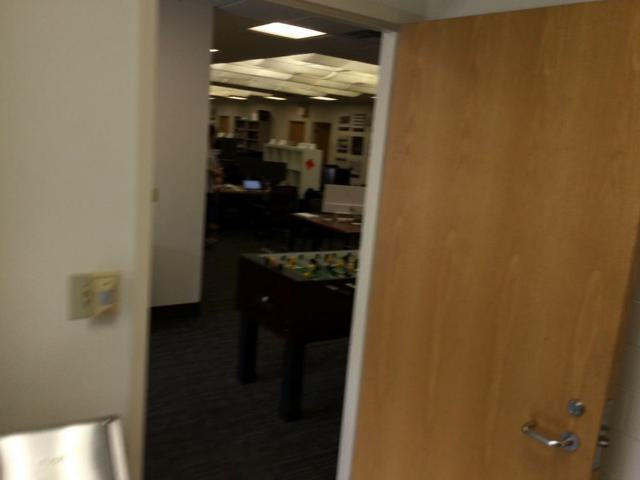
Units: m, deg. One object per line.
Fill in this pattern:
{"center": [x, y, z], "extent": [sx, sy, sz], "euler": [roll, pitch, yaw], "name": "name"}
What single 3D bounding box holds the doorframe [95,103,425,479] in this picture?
{"center": [-0.230, 0.420, 2.040], "extent": [0.970, 1.650, 0.400], "euler": [0, 10, -32], "name": "doorframe"}
